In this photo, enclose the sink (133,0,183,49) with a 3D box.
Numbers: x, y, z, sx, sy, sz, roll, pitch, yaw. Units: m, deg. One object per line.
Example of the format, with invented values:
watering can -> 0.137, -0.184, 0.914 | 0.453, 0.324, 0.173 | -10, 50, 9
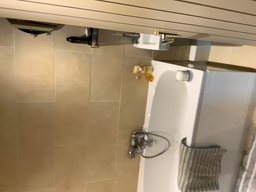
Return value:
sink -> 0.230, -0.660, 1.730 | 0.450, 0.180, 0.510 | -145, 58, -64
